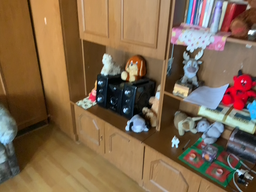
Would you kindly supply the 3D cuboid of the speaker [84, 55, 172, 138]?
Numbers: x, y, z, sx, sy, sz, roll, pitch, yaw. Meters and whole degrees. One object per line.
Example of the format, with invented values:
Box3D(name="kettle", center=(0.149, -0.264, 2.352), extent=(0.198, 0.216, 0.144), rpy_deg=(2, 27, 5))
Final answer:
Box3D(name="speaker", center=(-0.030, -0.040, 1.940), extent=(0.720, 0.470, 0.340), rpy_deg=(24, 34, 36))
